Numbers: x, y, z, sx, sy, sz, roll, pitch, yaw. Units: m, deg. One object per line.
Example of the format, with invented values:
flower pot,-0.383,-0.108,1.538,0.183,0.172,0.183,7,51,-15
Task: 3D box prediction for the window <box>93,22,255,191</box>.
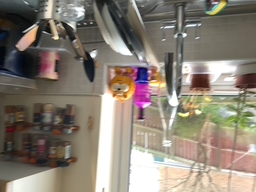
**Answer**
window,0.470,0.330,0.900,1.180,1.170,0.370,0,173,20
